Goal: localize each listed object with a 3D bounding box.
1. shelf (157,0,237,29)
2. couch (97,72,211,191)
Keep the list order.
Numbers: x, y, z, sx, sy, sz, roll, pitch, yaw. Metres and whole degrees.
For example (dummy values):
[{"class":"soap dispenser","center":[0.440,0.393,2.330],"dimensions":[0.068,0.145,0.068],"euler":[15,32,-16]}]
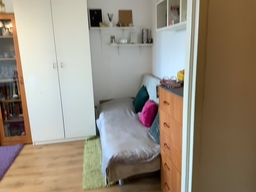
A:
[{"class":"shelf","center":[0.600,-0.930,2.170],"dimensions":[0.270,0.390,1.240],"euler":[-3,14,-8]},{"class":"couch","center":[0.130,0.270,3.090],"dimensions":[1.080,0.960,2.060],"euler":[-3,14,-8]}]
